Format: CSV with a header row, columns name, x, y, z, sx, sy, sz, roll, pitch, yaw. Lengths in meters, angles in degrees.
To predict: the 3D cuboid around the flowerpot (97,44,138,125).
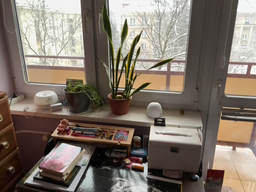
name,x,y,z,sx,sy,sz,roll,pitch,yaw
flowerpot,-0.060,-0.080,1.420,0.220,0.500,0.180,3,21,9
